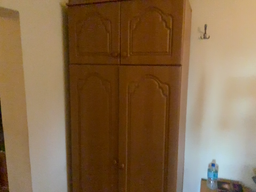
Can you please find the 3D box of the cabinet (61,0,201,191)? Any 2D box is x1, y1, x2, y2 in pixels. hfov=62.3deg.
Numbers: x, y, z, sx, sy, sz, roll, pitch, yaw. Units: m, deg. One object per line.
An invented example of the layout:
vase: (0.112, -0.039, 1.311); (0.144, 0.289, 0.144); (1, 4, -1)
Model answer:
cabinet: (0.040, 0.290, 1.890); (0.960, 2.080, 0.620); (5, 11, 22)
